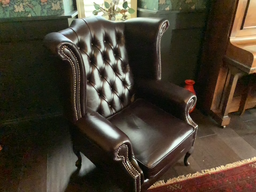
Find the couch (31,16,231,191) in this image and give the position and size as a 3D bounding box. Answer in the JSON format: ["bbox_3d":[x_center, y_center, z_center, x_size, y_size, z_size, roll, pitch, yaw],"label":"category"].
[{"bbox_3d":[0.000,0.070,1.480,0.800,0.980,0.840,-25,39,-35],"label":"couch"}]

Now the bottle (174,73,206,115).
[{"bbox_3d":[0.640,-0.020,2.240,0.220,0.370,0.240,-1,31,-2],"label":"bottle"}]
